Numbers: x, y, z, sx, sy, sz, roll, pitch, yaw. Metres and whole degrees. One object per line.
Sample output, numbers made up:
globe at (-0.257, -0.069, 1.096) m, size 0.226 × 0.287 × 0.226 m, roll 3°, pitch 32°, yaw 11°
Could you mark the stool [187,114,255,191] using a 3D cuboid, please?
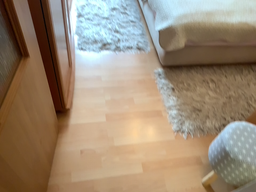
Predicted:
stool at (0.620, 0.350, 1.290) m, size 0.300 × 0.390 × 0.300 m, roll -4°, pitch 54°, yaw -13°
